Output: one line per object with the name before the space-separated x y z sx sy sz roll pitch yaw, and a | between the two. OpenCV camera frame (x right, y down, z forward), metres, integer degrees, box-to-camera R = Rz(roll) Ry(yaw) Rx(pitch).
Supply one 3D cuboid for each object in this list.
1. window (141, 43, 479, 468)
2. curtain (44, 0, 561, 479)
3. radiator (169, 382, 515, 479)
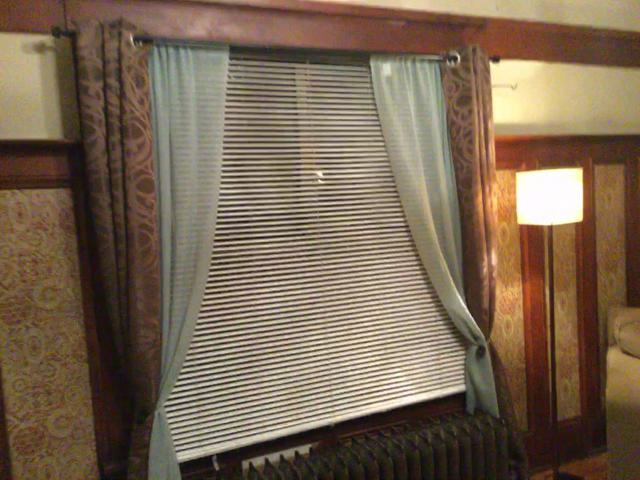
window | 0.010 0.000 2.300 1.230 1.490 0.140 -6 1 -21
curtain | 0.040 0.220 2.270 1.810 2.110 0.310 -6 1 -21
radiator | 0.130 0.980 2.300 1.350 0.530 0.270 -6 1 -21
